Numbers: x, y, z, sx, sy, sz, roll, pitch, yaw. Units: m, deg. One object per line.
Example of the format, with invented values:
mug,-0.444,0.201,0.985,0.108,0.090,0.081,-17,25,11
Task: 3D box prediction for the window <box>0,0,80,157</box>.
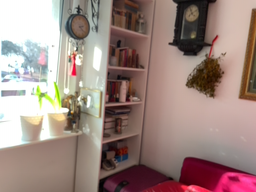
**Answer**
window,-0.830,-0.370,1.780,0.800,1.690,0.170,-2,11,-42
